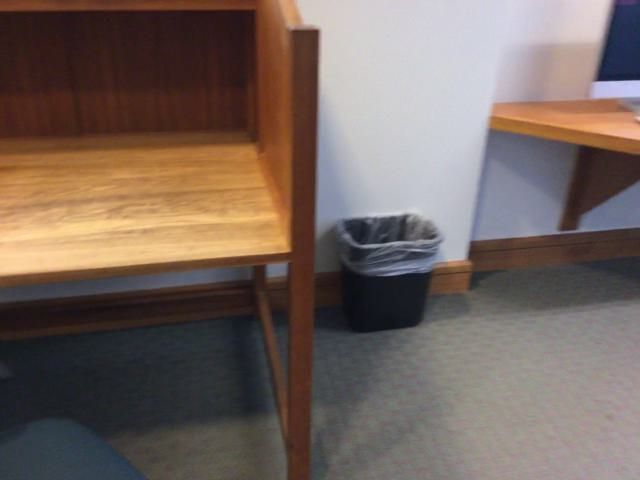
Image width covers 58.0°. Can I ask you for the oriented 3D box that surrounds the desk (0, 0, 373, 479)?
[{"bbox_3d":[-0.690,-0.070,1.460,1.390,1.510,1.030,-8,26,-7],"label":"desk"}]
